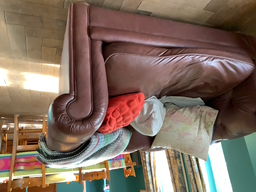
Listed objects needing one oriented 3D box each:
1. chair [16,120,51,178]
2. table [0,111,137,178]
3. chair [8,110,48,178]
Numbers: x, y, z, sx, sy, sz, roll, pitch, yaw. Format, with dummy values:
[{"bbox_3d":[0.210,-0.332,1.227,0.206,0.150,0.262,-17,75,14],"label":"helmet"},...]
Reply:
[{"bbox_3d":[-1.480,0.830,3.350,0.440,0.820,0.430,2,158,-23],"label":"chair"},{"bbox_3d":[-1.090,0.740,3.240,2.200,0.790,0.890,2,159,-22],"label":"table"},{"bbox_3d":[-1.340,0.660,2.900,0.420,0.820,0.460,2,159,-22],"label":"chair"}]
